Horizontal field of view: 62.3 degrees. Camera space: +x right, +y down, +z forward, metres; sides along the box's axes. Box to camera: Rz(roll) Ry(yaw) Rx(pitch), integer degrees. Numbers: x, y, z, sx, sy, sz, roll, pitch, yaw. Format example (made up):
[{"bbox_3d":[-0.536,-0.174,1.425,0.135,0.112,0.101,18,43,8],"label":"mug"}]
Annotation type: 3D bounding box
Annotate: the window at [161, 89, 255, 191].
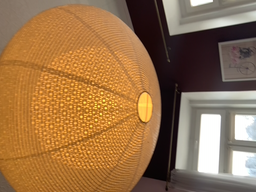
[{"bbox_3d":[1.810,0.720,2.860,0.570,2.380,1.570,48,-129,-47],"label":"window"}]
